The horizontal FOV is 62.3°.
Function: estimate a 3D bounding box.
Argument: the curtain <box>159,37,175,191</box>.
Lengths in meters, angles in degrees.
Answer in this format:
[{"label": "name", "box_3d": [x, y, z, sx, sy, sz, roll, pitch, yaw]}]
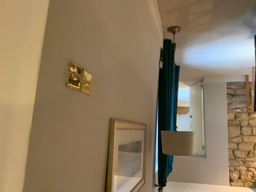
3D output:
[{"label": "curtain", "box_3d": [0.590, 0.260, 3.250, 0.220, 2.250, 0.480, 0, 171, 9]}]
